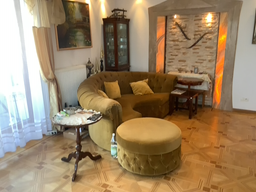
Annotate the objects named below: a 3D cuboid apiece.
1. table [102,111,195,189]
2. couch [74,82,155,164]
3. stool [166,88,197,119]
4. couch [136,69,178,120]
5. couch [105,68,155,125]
[{"bbox_3d":[0.250,0.600,2.720,0.830,0.460,0.800,-13,20,-37],"label":"table"},{"bbox_3d":[-0.200,0.310,3.130,0.890,0.830,0.750,-11,19,-33],"label":"couch"},{"bbox_3d":[1.100,0.140,4.340,0.480,0.480,0.420,9,18,32],"label":"stool"},{"bbox_3d":[0.570,-0.070,4.410,0.760,0.840,0.850,1,16,6],"label":"couch"},{"bbox_3d":[0.020,-0.040,4.260,0.690,0.880,0.840,-8,17,-25],"label":"couch"}]
